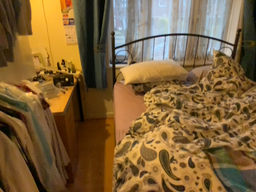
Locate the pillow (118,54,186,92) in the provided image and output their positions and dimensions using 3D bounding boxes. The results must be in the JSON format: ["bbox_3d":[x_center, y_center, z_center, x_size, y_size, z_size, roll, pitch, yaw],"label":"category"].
[{"bbox_3d":[0.240,-0.270,2.380,0.650,0.280,0.410,-5,23,-9],"label":"pillow"}]
